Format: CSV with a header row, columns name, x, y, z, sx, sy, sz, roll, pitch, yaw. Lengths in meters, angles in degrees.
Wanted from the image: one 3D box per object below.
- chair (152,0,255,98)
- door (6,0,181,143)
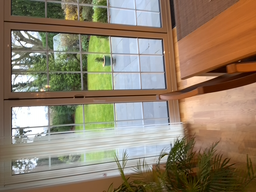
name,x,y,z,sx,sy,sz,roll,pitch,yaw
chair,0.690,-0.300,1.120,0.450,1.010,0.580,176,92,-71
door,-0.350,-0.610,2.610,0.110,2.010,2.130,158,109,-69
